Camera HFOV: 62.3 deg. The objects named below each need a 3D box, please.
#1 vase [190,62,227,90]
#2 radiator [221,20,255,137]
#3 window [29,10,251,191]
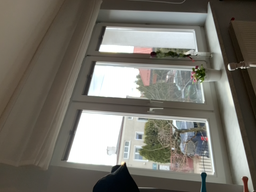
[{"bbox_3d":[0.790,-0.200,2.110,0.190,0.280,0.170,89,-174,-50],"label":"vase"},{"bbox_3d":[1.370,-0.230,1.910,0.130,0.770,1.330,89,-173,-52],"label":"radiator"},{"bbox_3d":[0.160,-0.170,2.210,0.260,1.540,2.110,89,-173,-52],"label":"window"}]
